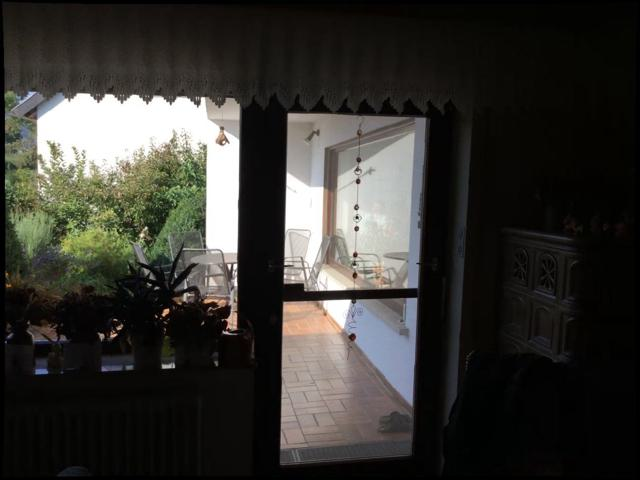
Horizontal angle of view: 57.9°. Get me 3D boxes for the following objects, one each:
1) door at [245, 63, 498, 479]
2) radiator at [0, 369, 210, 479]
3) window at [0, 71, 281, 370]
[{"bbox_3d":[0.210,0.250,2.890,1.129,2.072,0.440,0,6,-11],"label":"door"},{"bbox_3d":[-1.099,0.961,2.510,1.219,0.681,0.250,0,6,-11],"label":"radiator"},{"bbox_3d":[-1.618,-0.080,2.300,2.877,1.111,0.480,0,6,-11],"label":"window"}]
